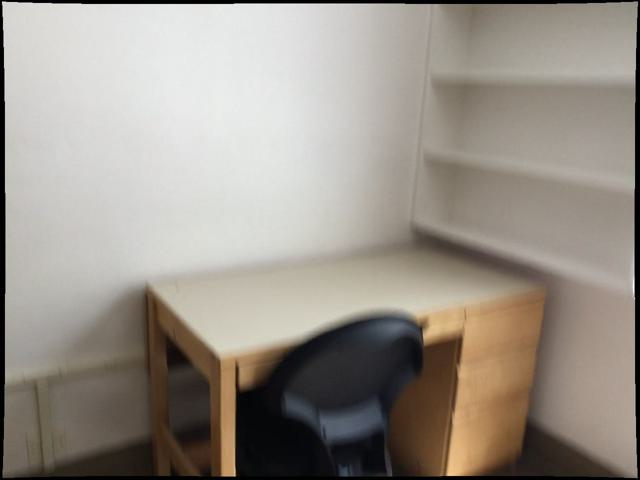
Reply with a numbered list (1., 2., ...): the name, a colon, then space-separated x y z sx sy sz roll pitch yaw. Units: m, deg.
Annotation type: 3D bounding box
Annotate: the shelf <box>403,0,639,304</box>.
1. shelf: 0.829 -0.731 1.920 0.370 1.591 1.060 -7 19 -32
